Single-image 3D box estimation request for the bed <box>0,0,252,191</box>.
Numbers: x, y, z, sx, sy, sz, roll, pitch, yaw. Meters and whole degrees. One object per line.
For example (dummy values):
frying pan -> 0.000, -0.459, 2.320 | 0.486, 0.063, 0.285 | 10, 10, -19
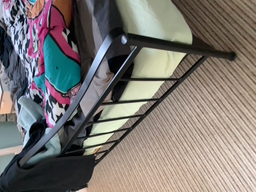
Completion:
bed -> -0.600, -0.500, 1.790 | 1.860, 0.490, 2.190 | -52, 57, 37
